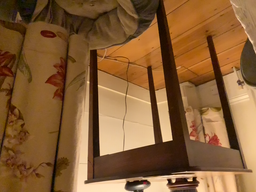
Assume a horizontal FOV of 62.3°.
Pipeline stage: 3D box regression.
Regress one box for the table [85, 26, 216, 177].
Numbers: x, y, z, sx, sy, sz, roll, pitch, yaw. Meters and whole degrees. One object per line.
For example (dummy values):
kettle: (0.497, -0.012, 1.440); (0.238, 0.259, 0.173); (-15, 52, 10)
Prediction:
table: (0.110, 0.090, 1.200); (0.560, 0.650, 0.400); (18, 149, -41)
